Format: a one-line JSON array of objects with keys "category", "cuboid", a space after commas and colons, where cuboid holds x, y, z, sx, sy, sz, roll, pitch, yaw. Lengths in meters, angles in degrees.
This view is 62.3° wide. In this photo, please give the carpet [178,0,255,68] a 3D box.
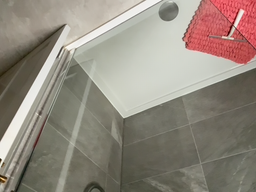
[{"category": "carpet", "cuboid": [0.650, -0.420, 1.310, 0.540, 0.050, 0.430, 12, 130, -10]}]
